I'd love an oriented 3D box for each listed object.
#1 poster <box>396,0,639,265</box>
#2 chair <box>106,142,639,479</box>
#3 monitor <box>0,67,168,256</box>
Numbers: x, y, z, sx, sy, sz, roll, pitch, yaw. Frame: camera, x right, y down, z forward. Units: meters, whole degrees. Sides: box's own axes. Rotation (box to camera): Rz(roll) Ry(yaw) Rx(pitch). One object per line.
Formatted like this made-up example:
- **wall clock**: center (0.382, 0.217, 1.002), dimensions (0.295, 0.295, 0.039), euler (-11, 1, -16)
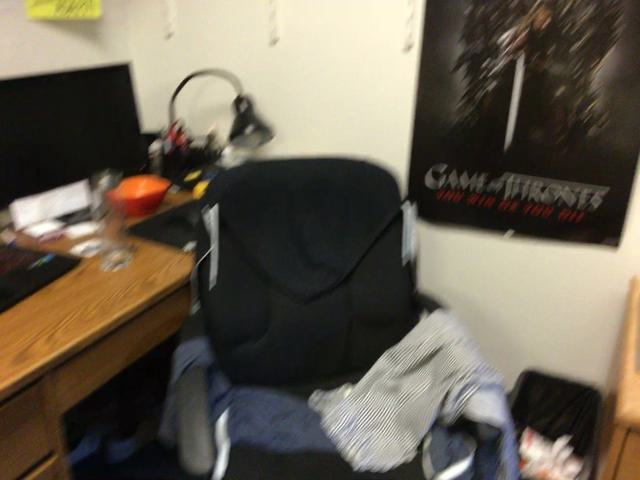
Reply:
- **poster**: center (0.530, -0.470, 1.490), dimensions (0.640, 1.020, 0.040), euler (11, 24, 26)
- **chair**: center (0.040, 0.380, 1.270), dimensions (0.800, 1.000, 0.760), euler (-6, 23, -15)
- **monitor**: center (-0.730, -0.250, 1.590), dimensions (0.300, 0.380, 0.520), euler (11, 24, 26)
